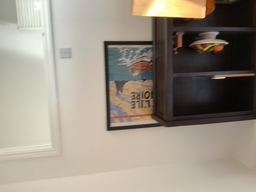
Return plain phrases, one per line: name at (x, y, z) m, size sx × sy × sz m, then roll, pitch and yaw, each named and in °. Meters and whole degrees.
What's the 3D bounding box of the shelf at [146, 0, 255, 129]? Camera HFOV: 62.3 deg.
shelf at (0.660, -0.680, 1.840) m, size 0.920 × 1.790 × 0.400 m, roll -4°, pitch -171°, yaw -12°
